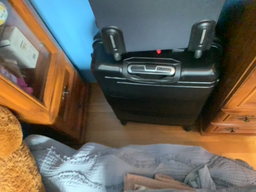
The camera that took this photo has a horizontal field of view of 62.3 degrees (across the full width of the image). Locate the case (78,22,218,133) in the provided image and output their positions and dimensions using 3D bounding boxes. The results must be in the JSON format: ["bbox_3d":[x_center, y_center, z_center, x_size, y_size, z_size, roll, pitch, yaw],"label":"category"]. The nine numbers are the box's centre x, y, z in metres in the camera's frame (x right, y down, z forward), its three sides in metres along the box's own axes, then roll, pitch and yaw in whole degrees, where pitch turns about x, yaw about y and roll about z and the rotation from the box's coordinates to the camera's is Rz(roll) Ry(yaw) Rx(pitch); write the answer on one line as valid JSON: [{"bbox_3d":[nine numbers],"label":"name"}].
[{"bbox_3d":[0.120,-0.060,1.210,0.570,0.600,0.370,2,67,8],"label":"case"}]
